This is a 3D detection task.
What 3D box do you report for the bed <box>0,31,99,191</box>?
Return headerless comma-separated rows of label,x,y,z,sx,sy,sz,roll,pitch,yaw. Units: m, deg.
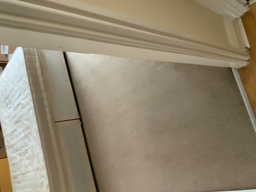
bed,-1.150,0.430,2.670,1.330,0.520,1.940,-24,76,42
